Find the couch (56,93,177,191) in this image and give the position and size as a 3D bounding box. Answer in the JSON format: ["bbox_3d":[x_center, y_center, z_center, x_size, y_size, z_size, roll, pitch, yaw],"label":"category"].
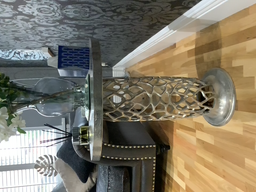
[{"bbox_3d":[-0.200,0.830,2.120,1.090,0.820,1.500,-132,43,-70],"label":"couch"}]

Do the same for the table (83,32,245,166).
[{"bbox_3d":[0.120,0.000,1.020,0.450,0.640,0.460,-175,84,-77],"label":"table"}]
